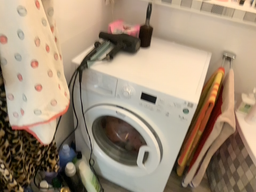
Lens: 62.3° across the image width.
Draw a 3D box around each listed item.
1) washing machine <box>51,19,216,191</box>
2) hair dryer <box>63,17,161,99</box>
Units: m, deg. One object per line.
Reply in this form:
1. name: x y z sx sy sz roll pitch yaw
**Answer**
1. washing machine: 0.040 0.090 1.340 0.660 0.820 0.640 20 40 14
2. hair dryer: -0.060 -0.240 1.160 0.320 0.170 0.500 20 40 14
